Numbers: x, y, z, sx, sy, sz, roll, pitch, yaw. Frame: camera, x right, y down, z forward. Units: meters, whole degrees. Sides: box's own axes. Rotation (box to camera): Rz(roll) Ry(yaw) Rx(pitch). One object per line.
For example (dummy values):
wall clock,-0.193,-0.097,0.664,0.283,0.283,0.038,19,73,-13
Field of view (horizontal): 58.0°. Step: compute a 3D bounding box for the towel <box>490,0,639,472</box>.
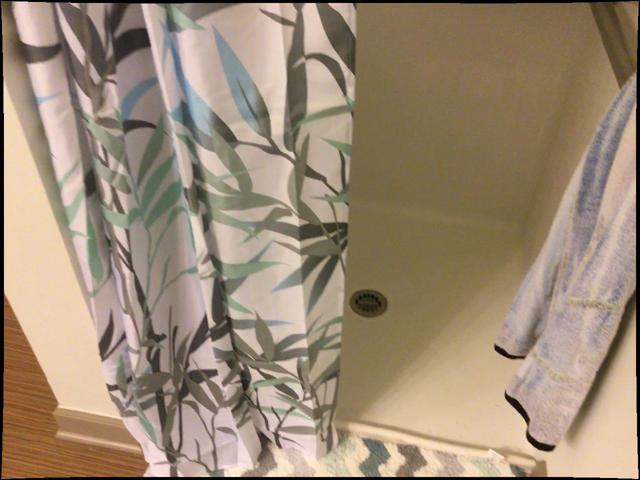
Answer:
towel,0.439,0.020,0.940,0.190,0.821,0.300,5,42,10
